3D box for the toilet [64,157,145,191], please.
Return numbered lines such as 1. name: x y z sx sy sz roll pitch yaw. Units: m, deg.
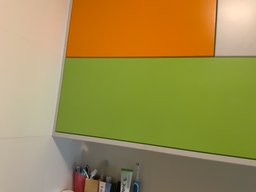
1. toilet: -0.110 0.410 0.980 0.340 0.180 0.130 4 -6 21
